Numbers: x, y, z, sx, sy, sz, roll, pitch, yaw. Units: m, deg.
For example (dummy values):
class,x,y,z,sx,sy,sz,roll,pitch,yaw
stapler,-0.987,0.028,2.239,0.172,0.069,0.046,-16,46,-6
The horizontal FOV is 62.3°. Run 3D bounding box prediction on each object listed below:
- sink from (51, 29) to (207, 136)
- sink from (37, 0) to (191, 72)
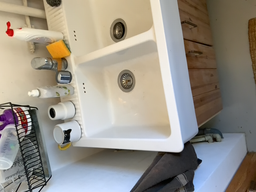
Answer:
class,x,y,z,sx,sy,sz,roll,pitch,yaw
sink,-0.060,-0.010,1.050,0.780,0.170,0.380,-9,91,38
sink,-0.130,-0.390,1.040,0.780,0.180,0.400,-9,91,38
